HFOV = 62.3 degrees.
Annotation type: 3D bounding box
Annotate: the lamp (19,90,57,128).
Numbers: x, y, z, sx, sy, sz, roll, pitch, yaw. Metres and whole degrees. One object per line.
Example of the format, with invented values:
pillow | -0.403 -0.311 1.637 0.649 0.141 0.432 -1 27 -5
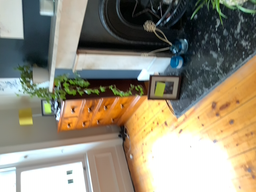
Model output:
lamp | -1.220 0.170 2.870 0.280 0.440 0.410 122 139 -51
